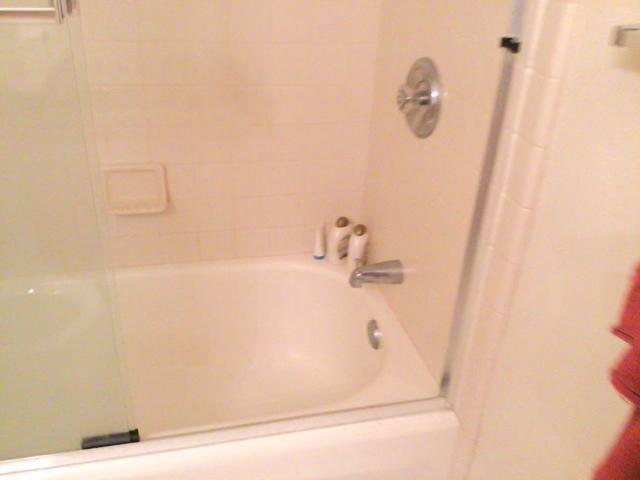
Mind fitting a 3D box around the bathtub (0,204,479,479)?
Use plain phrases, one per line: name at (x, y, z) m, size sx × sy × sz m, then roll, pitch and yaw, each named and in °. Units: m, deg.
bathtub at (-0.500, 0.370, 1.470) m, size 1.450 × 0.530 × 0.870 m, roll -5°, pitch 27°, yaw -13°
